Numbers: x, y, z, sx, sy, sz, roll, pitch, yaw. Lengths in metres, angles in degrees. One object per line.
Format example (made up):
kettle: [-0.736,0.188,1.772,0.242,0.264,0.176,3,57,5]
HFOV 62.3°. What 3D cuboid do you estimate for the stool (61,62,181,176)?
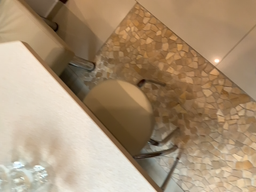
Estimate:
stool: [0.020,0.080,1.000,0.290,0.530,0.280,45,103,14]
